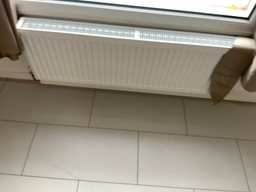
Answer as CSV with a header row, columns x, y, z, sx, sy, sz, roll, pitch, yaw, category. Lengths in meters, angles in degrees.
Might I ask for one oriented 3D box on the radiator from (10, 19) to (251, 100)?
x,y,z,sx,sy,sz,roll,pitch,yaw,category
0.010,-0.180,1.250,1.190,0.450,0.080,4,55,-2,radiator
